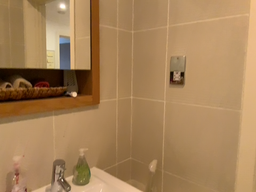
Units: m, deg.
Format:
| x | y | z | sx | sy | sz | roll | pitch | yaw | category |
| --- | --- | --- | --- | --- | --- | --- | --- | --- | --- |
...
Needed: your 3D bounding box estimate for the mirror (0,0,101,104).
| x | y | z | sx | sy | sz | roll | pitch | yaw | category |
| --- | --- | --- | --- | --- | --- | --- | --- | --- | --- |
| -0.360 | -0.340 | 0.890 | 0.050 | 0.710 | 0.580 | 8 | 10 | 44 | mirror |
